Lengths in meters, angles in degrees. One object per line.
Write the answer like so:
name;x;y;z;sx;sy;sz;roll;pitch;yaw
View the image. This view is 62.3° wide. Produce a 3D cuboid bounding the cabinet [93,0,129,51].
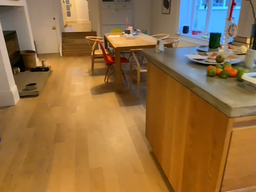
cabinet;-0.490;-2.270;6.260;0.950;1.750;0.460;-6;23;-11
